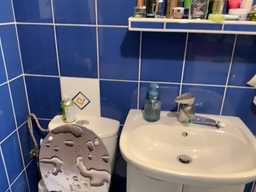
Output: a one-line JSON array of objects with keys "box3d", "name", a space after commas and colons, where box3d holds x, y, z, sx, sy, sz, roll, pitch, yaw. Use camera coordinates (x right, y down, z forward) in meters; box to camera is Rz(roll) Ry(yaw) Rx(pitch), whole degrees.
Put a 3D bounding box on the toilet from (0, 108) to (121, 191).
[{"box3d": [-0.280, 0.580, 0.980, 0.390, 0.820, 0.660, 4, 23, 6], "name": "toilet"}]
